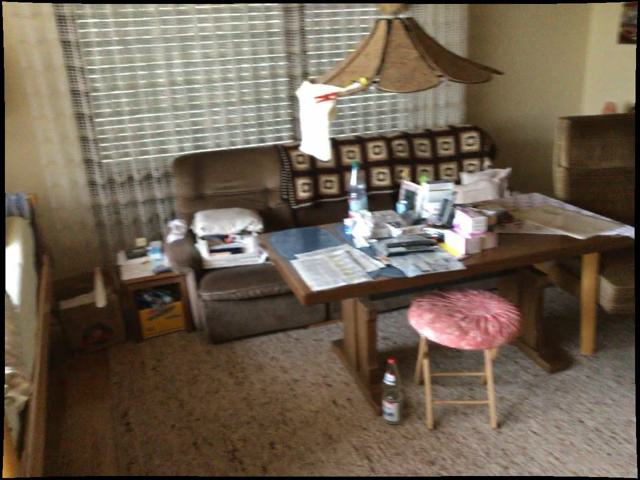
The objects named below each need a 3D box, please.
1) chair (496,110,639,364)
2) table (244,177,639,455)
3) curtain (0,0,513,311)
[{"bbox_3d":[1.479,-0.070,2.900,0.879,1.011,0.930,0,21,4],"label":"chair"},{"bbox_3d":[0.549,0.230,2.640,1.589,0.691,0.780,-9,22,-20],"label":"table"},{"bbox_3d":[-0.240,-0.911,3.580,2.908,2.092,0.620,-9,22,-20],"label":"curtain"}]
